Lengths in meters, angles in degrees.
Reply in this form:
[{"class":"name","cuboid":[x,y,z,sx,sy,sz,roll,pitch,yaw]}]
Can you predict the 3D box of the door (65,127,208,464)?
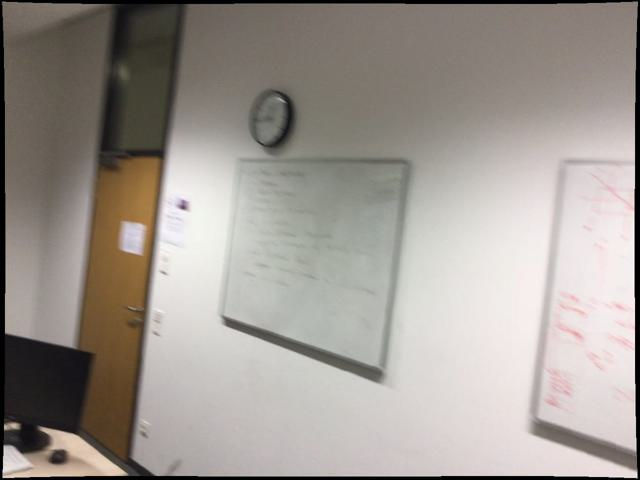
[{"class":"door","cuboid":[-1.419,0.290,4.270,0.230,2.182,1.429,1,7,-45]}]
